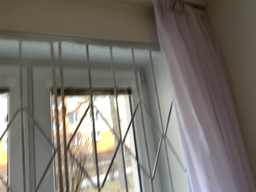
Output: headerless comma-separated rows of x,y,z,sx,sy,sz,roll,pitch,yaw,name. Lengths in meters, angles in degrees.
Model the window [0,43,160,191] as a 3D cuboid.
-0.330,0.490,0.910,1.160,1.470,0.070,1,-15,-34,window
